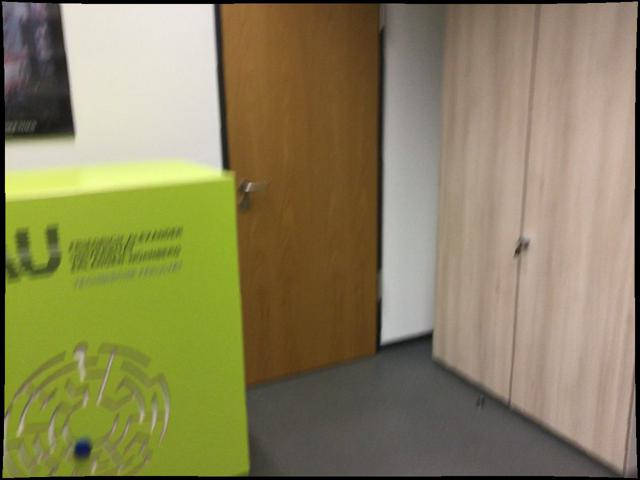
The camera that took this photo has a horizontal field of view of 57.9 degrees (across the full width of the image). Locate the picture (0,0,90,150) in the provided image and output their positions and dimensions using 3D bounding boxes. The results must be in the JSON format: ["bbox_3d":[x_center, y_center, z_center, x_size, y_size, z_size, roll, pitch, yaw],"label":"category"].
[{"bbox_3d":[-1.289,-0.771,2.210,0.659,0.841,0.060,-9,16,-25],"label":"picture"}]

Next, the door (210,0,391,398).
[{"bbox_3d":[-0.060,-0.320,2.870,0.849,2.102,0.190,-7,13,-26],"label":"door"}]

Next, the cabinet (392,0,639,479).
[{"bbox_3d":[0.989,-0.380,2.610,0.620,2.242,1.460,-9,16,-25],"label":"cabinet"}]
